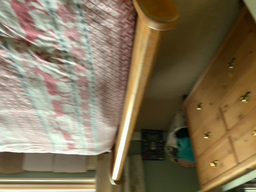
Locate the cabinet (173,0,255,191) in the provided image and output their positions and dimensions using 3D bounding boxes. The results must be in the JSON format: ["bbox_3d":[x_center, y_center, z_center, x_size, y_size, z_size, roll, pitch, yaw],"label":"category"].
[{"bbox_3d":[0.810,0.080,1.520,0.480,0.900,1.160,2,145,-8],"label":"cabinet"}]
